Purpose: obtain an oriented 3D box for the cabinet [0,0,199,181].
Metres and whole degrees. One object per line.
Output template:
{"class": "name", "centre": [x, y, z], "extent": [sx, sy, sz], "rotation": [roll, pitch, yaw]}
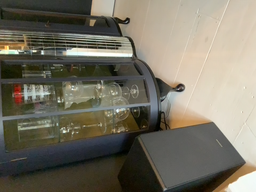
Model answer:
{"class": "cabinet", "centre": [-0.280, -0.170, 1.190], "extent": [0.980, 0.830, 0.360], "rotation": [61, 144, 38]}
